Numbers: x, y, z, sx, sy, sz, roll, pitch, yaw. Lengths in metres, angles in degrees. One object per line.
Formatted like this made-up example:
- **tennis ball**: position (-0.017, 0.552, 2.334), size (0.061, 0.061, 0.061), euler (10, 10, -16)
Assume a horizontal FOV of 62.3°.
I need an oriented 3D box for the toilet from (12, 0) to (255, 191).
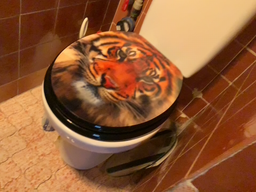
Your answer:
- **toilet**: position (0.020, -0.080, 0.750), size (0.360, 0.800, 0.660), euler (43, 45, 12)
